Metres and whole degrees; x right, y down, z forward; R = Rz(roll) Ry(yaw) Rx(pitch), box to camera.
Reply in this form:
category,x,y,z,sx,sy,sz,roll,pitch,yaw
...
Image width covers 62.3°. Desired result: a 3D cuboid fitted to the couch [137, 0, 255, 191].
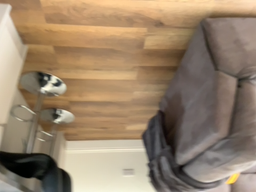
category,x,y,z,sx,sy,sz,roll,pitch,yaw
couch,0.710,0.090,1.460,1.090,0.940,1.010,1,148,-7
